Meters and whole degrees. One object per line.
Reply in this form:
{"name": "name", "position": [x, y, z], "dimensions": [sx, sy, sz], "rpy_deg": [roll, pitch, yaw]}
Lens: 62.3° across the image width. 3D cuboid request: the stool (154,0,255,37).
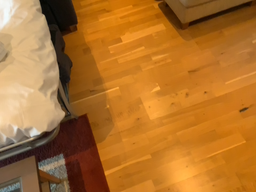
{"name": "stool", "position": [0.700, -0.930, 1.780], "dimensions": [0.820, 0.400, 0.480], "rpy_deg": [-19, 61, -6]}
